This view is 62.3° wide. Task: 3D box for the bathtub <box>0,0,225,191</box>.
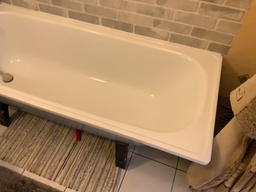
[{"bbox_3d":[-0.360,-0.060,1.390,1.690,0.560,0.680,17,52,10],"label":"bathtub"}]
